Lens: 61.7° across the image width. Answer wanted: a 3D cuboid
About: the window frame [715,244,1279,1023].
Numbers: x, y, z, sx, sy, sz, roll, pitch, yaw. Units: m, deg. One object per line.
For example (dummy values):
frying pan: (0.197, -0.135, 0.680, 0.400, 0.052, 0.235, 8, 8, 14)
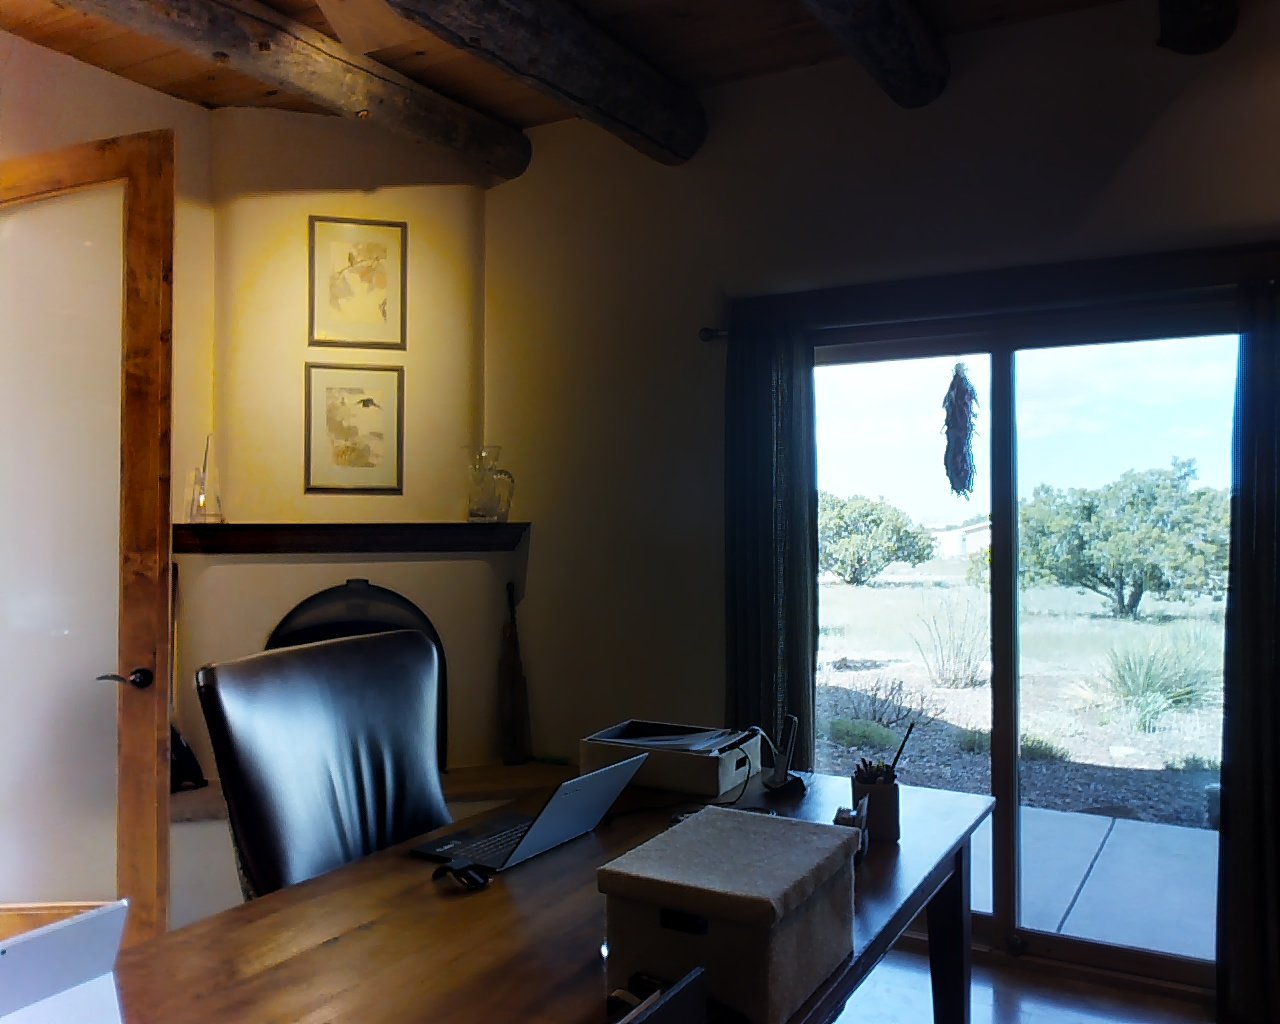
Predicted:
window frame: (1.180, 0.350, 3.530, 1.900, 2.201, 0.320, 0, -1, 29)
